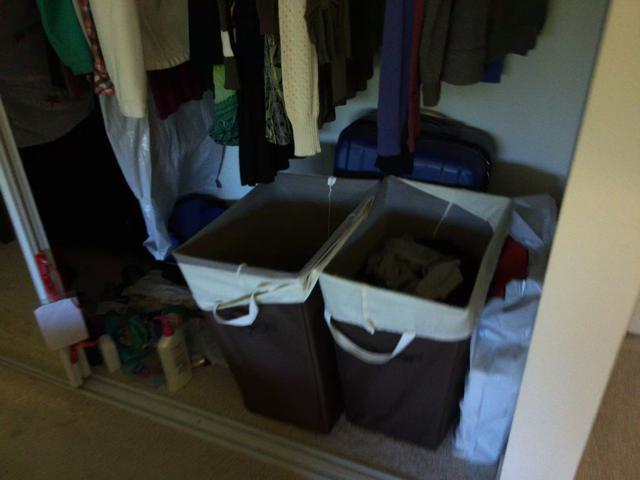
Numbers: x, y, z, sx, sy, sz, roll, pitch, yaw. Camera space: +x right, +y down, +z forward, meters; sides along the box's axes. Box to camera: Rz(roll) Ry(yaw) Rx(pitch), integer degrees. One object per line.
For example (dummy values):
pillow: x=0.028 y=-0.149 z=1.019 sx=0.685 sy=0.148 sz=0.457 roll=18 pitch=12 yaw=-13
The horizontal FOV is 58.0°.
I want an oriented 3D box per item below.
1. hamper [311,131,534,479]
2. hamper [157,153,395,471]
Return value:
hamper: x=0.260 y=0.160 z=1.470 sx=0.370 sy=0.690 sz=0.540 roll=12 pitch=31 yaw=20
hamper: x=-0.080 y=0.160 z=1.570 sx=0.390 sy=0.600 sz=0.520 roll=12 pitch=31 yaw=20
